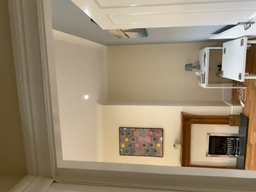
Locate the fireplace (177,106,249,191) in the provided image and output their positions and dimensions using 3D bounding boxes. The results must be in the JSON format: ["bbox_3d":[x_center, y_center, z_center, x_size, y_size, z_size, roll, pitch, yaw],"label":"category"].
[{"bbox_3d":[1.590,0.980,4.160,0.640,1.130,1.480,-50,-41,-79],"label":"fireplace"}]

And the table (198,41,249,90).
[{"bbox_3d":[1.810,-0.580,4.160,0.780,0.690,0.860,-43,-47,-80],"label":"table"}]
